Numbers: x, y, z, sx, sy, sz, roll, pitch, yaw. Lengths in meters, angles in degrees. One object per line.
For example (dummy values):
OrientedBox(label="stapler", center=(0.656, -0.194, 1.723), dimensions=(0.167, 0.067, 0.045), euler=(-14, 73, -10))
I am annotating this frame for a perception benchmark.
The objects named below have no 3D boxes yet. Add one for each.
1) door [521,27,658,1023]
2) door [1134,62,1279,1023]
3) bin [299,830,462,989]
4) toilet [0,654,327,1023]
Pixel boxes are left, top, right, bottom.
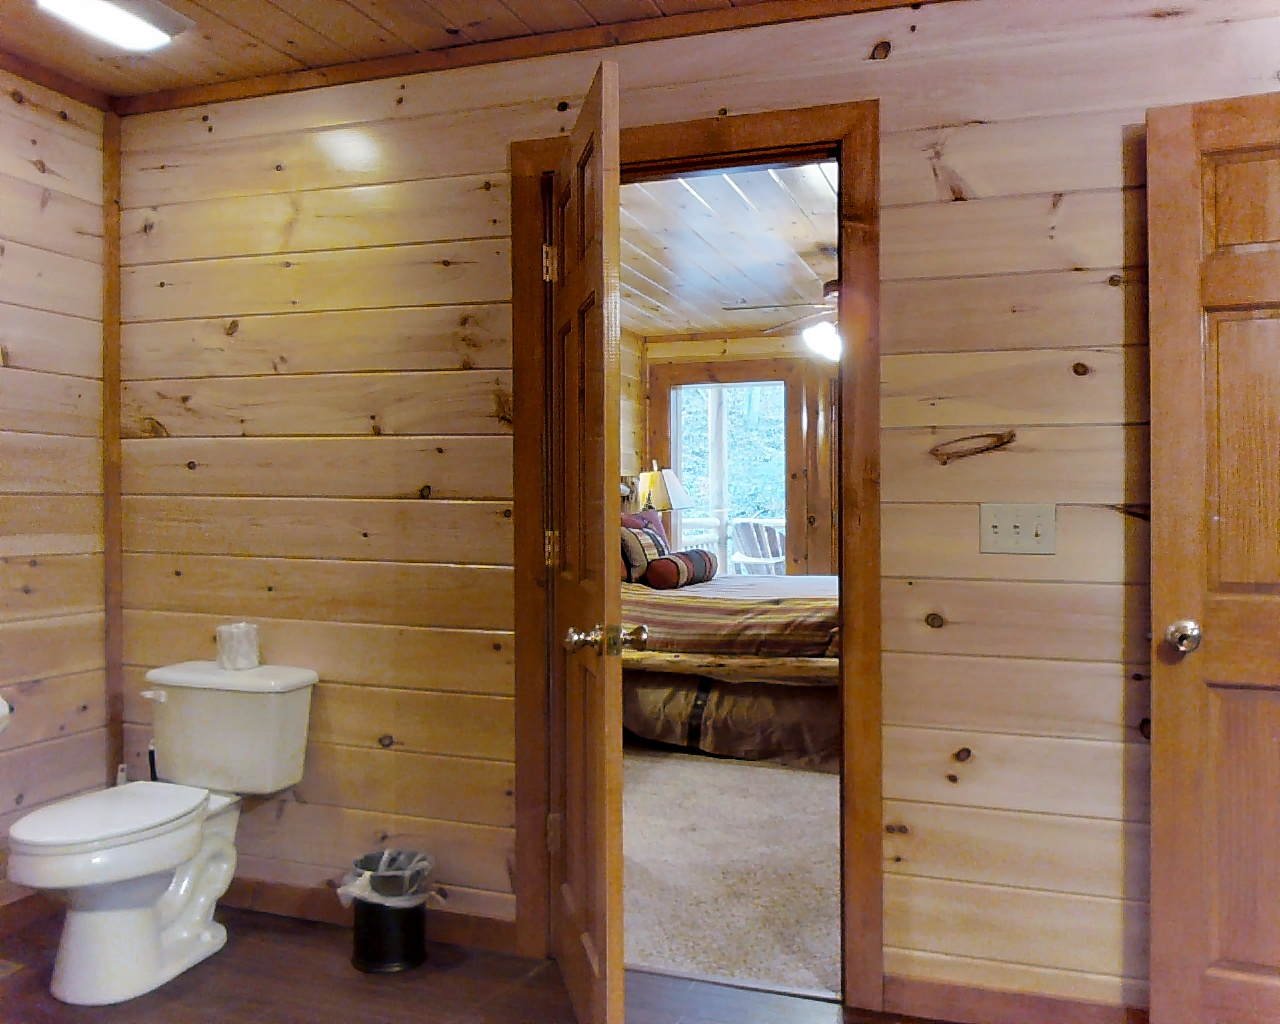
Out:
OrientedBox(label="door", center=(-0.140, 0.110, 2.450), dimensions=(0.150, 2.051, 0.820), euler=(1, 0, -13))
OrientedBox(label="door", center=(1.470, 0.130, 2.090), dimensions=(0.910, 2.051, 0.060), euler=(1, 0, 24))
OrientedBox(label="bin", center=(-0.660, 1.010, 2.780), dimensions=(0.270, 0.260, 0.340), euler=(1, 0, 17))
OrientedBox(label="toilet", center=(-1.290, 0.780, 2.760), dimensions=(0.590, 0.710, 0.780), euler=(1, 0, 19))
